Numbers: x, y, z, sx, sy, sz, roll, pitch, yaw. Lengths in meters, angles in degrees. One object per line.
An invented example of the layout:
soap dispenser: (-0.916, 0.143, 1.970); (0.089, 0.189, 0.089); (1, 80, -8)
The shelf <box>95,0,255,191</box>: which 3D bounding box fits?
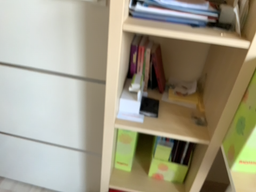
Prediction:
shelf: (0.130, 0.030, 0.910); (0.430, 1.460, 0.400); (9, 33, 4)
